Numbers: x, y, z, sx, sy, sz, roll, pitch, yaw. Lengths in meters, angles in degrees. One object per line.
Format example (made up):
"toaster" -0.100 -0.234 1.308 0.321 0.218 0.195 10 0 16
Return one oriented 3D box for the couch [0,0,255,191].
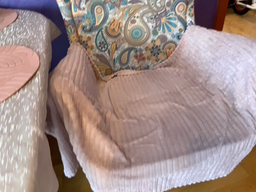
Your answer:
"couch" 0.100 -0.180 0.990 0.840 1.030 0.990 -14 42 -10
